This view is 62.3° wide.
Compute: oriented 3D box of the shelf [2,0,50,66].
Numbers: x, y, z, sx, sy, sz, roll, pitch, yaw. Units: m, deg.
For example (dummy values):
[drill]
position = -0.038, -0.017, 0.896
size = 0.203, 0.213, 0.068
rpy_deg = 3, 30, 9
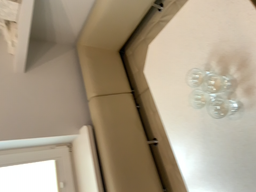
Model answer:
[shelf]
position = -0.670, -0.460, 1.350
size = 0.500, 0.180, 0.280
rpy_deg = -43, 56, 45
